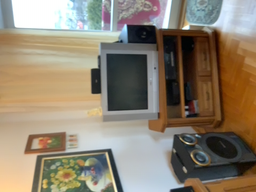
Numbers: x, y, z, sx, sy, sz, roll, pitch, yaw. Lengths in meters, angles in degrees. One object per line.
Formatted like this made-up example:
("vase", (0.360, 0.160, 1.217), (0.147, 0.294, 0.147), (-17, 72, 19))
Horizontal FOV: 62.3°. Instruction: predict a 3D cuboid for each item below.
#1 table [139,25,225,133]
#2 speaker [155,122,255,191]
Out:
("table", (0.590, -0.170, 2.480), (0.600, 0.710, 1.070), (169, 99, -74))
("speaker", (0.740, 0.560, 2.030), (0.460, 0.790, 0.390), (-120, 32, -59))
